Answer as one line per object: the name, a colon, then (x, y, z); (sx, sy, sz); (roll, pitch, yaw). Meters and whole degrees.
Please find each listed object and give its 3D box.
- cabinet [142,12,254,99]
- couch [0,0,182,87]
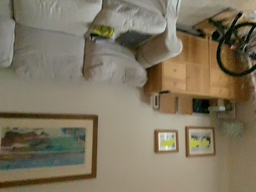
cabinet: (1.040, -0.480, 3.050); (1.660, 0.900, 0.460); (4, 172, -27)
couch: (-0.720, -0.670, 1.960); (2.390, 0.850, 0.850); (4, 172, -27)
